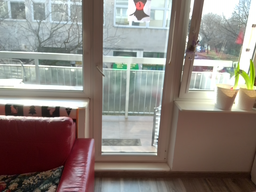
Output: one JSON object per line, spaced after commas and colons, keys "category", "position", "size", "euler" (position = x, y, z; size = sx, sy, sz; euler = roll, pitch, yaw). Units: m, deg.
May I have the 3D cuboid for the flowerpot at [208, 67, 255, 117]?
{"category": "flowerpot", "position": [1.110, -0.050, 2.210], "size": [0.380, 0.420, 0.330], "euler": [4, 17, 3]}
